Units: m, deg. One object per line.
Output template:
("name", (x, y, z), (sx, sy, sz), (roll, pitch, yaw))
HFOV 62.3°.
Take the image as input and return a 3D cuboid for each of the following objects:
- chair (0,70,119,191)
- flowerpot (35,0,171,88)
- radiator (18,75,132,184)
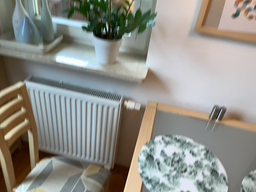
("chair", (-0.370, 0.420, 1.070), (0.490, 0.920, 0.440), (11, 35, 3))
("flowerpot", (-0.100, -0.460, 1.260), (0.630, 0.500, 0.520), (13, 35, 7))
("radiator", (-0.360, 0.260, 1.480), (0.670, 0.700, 0.140), (13, 35, 6))
